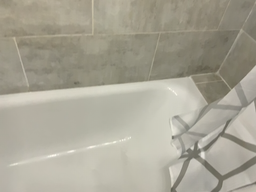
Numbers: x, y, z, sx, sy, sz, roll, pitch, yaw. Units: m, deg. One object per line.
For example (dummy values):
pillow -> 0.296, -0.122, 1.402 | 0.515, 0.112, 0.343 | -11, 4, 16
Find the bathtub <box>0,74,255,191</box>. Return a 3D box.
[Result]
bathtub -> -0.190, 0.390, 1.040 | 1.620, 0.550, 0.700 | -6, 48, -15
